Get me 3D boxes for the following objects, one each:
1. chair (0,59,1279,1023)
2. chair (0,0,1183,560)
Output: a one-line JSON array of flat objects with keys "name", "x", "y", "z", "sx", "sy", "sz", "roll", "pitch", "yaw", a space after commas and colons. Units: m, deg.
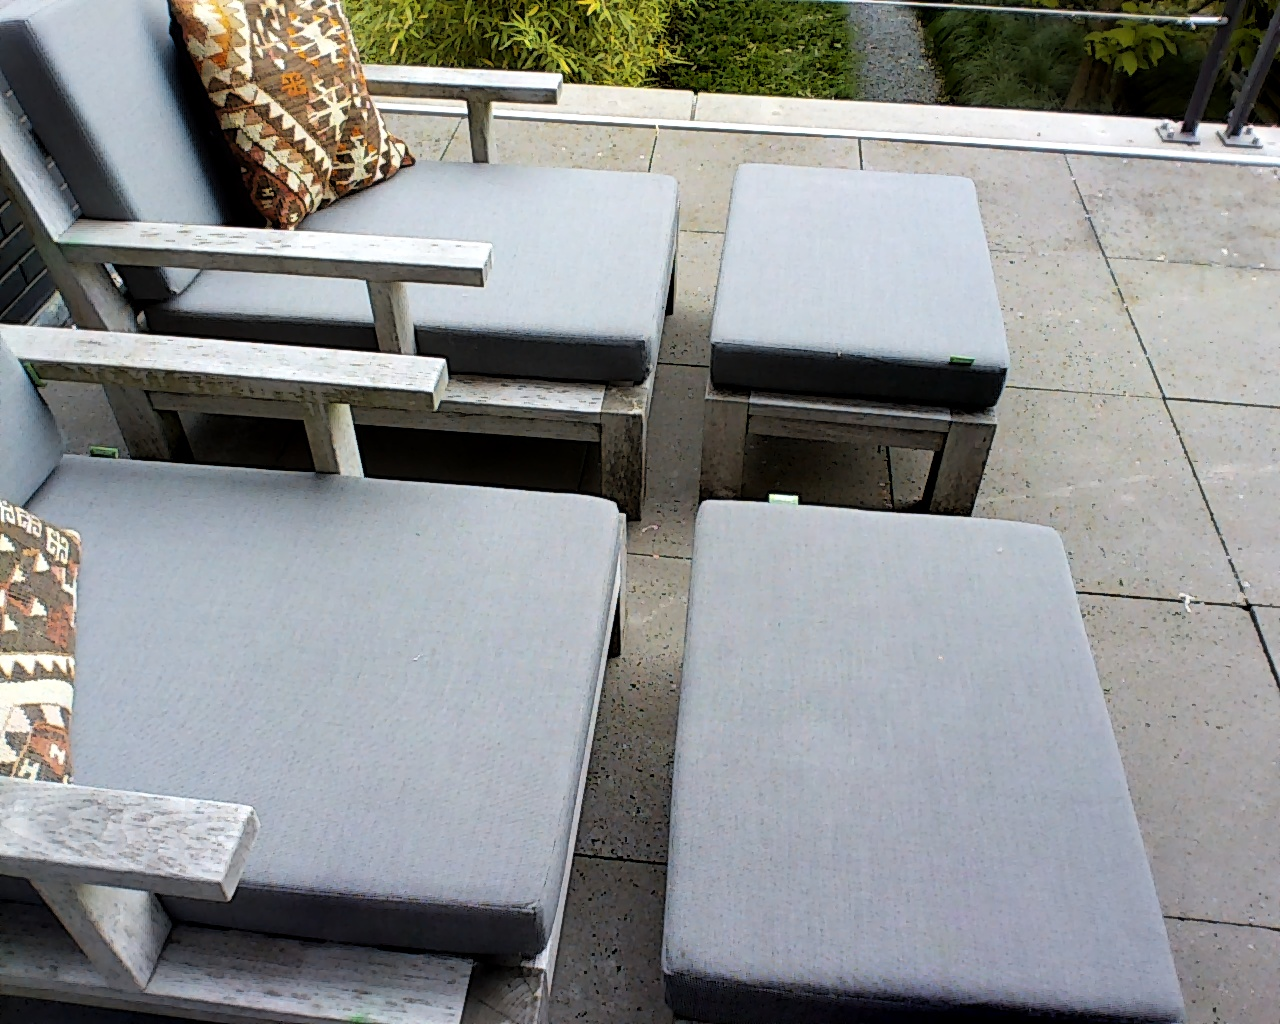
[{"name": "chair", "x": -0.280, "y": 0.090, "z": 1.270, "sx": 1.800, "sy": 0.830, "sz": 0.920, "roll": 5, "pitch": 43, "yaw": 4}, {"name": "chair", "x": -0.190, "y": -0.630, "z": 2.030, "sx": 1.820, "sy": 0.860, "sz": 0.960, "roll": 5, "pitch": 43, "yaw": 4}]
